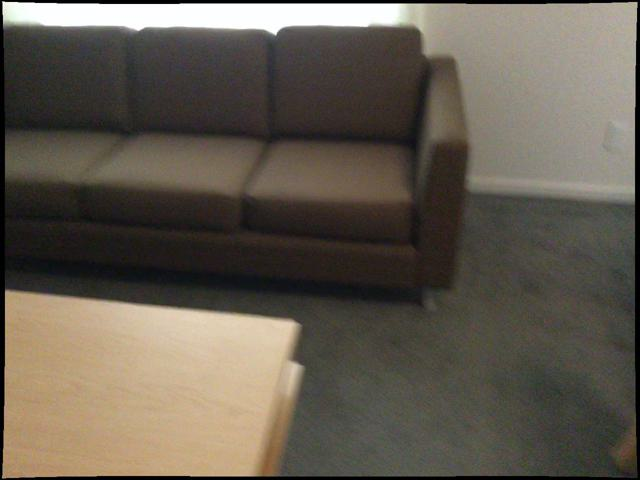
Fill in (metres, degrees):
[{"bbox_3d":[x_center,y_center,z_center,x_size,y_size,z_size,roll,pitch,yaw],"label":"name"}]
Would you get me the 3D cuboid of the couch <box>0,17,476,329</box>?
[{"bbox_3d":[-0.499,-0.351,2.230,2.015,0.832,0.890,4,29,10],"label":"couch"}]
